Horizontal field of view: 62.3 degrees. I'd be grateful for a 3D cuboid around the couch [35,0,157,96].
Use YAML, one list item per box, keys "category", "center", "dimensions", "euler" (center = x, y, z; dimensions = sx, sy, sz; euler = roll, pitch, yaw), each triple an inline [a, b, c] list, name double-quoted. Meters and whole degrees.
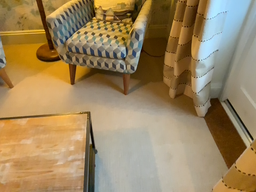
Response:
- category: "couch"
  center: [-0.170, -0.640, 1.840]
  dimensions: [0.720, 0.840, 0.830]
  euler: [10, 44, 9]
